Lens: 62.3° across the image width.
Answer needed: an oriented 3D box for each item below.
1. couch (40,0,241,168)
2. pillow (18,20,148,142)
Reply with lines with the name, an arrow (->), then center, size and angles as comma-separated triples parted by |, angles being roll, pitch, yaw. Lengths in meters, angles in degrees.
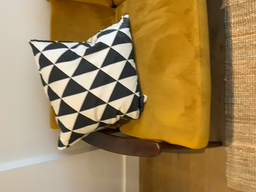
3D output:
couch -> 0.030, -0.610, 1.240 | 0.890, 0.760, 1.660 | 0, 91, 48
pillow -> -0.200, -0.060, 1.200 | 0.340, 0.590, 0.610 | 86, -175, -75
